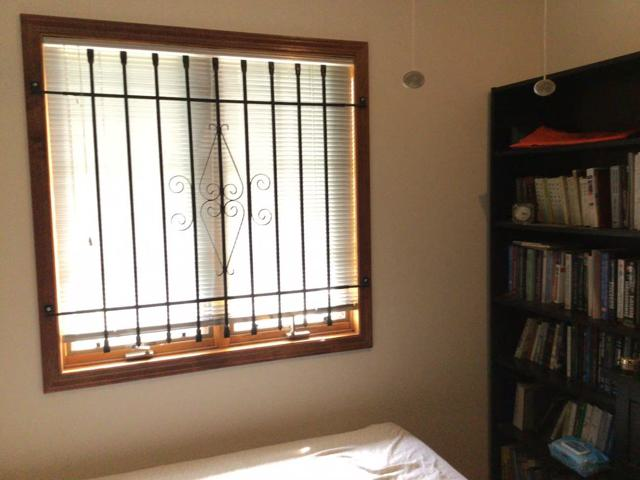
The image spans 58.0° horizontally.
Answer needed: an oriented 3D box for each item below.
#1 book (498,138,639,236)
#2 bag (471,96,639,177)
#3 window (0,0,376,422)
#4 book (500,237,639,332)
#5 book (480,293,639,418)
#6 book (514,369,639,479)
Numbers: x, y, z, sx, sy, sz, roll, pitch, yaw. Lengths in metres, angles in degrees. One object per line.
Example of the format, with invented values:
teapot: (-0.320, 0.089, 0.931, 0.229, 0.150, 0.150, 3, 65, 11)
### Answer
book: (1.030, -0.200, 2.230, 0.220, 0.320, 0.750, -3, 5, -23)
bag: (0.950, -0.370, 2.220, 0.370, 0.230, 0.690, -3, 5, -23)
window: (-0.440, -0.120, 2.150, 1.370, 1.340, 0.180, -3, 5, -23)
book: (1.050, 0.150, 2.270, 0.210, 0.270, 0.750, -3, 5, -23)
book: (1.030, 0.420, 2.330, 0.300, 0.270, 0.810, -3, 5, -23)
book: (1.070, 0.740, 2.260, 0.250, 0.280, 0.600, -3, 5, -23)
